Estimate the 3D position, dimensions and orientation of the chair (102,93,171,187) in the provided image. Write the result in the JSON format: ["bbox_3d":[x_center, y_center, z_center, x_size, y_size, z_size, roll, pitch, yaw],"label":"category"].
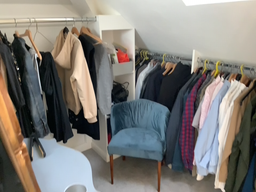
[{"bbox_3d":[0.110,0.380,2.030,0.550,0.660,0.530,4,20,10],"label":"chair"}]
